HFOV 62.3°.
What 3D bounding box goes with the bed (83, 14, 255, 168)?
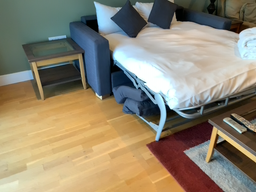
[{"bbox_3d":[0.550,-0.400,2.610,1.560,0.630,2.160,-15,35,-22],"label":"bed"}]
